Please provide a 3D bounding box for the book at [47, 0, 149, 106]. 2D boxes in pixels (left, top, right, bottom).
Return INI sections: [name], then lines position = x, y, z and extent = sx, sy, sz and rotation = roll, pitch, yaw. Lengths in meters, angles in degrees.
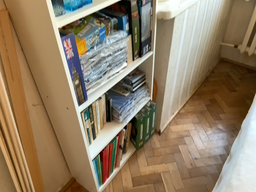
[book]
position = -0.100, -0.220, 0.980
extent = 0.160, 0.290, 0.460
rotation = 24, 47, 26
